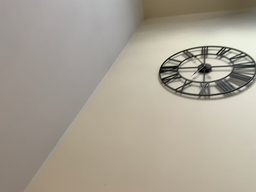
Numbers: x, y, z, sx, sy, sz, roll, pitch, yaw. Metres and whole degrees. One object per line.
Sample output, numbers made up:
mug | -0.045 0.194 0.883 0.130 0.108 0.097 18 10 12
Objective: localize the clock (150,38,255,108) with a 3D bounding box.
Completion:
clock | 0.510 -0.180 1.420 0.570 0.600 0.110 -66 -30 -42
